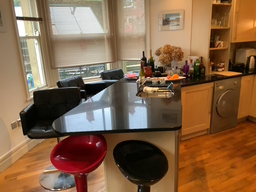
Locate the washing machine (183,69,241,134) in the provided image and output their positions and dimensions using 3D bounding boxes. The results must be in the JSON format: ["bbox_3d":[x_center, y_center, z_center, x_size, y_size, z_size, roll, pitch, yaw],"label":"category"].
[{"bbox_3d":[1.350,0.050,3.490,0.590,0.870,0.600,-10,18,-25],"label":"washing machine"}]

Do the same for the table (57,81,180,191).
[{"bbox_3d":[0.070,0.410,2.350,0.960,0.860,1.370,2,16,14],"label":"table"}]

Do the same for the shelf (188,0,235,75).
[{"bbox_3d":[1.300,-1.070,3.320,0.560,1.380,0.340,-10,18,-25],"label":"shelf"}]
